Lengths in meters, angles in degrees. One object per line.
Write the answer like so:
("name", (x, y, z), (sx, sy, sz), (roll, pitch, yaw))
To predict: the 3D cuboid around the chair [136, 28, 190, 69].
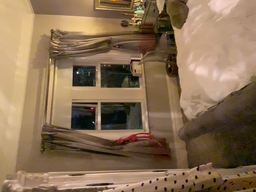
("chair", (0.580, -0.790, 3.660), (0.460, 0.770, 0.510), (132, 138, -75))
